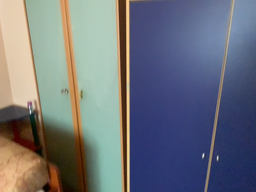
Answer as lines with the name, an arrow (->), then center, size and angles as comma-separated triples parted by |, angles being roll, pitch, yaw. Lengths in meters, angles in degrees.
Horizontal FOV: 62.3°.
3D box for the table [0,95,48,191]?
table -> -0.970, 0.460, 1.770 | 0.340, 0.830, 0.330 | 10, 22, 28
